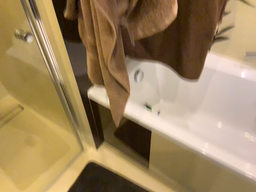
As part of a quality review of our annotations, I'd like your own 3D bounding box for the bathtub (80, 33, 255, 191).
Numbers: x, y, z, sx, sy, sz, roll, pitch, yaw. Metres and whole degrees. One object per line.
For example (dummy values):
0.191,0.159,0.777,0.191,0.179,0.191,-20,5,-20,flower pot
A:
0.640,0.290,1.190,1.660,0.580,0.710,25,53,25,bathtub
